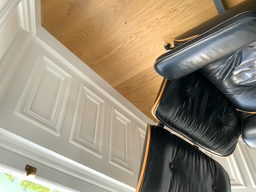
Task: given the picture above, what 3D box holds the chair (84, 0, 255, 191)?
[{"bbox_3d":[0.470,-0.010,0.910,0.880,0.820,0.840,-32,131,30],"label":"chair"}]
